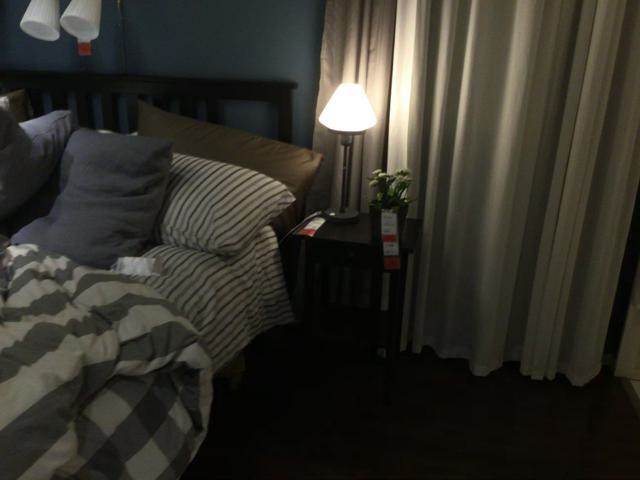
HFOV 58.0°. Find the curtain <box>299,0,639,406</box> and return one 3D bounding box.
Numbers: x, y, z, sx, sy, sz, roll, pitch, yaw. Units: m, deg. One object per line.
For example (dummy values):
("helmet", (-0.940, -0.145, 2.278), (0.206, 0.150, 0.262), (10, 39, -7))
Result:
("curtain", (0.670, -0.480, 2.180), (1.450, 2.180, 0.380), (4, 20, 8))
